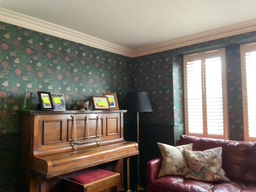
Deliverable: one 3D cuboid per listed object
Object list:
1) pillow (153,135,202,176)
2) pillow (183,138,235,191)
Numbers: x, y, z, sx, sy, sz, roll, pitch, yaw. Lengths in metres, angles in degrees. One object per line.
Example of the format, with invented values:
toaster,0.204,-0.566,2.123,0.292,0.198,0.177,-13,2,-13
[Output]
pillow,0.600,0.740,2.640,0.470,0.390,0.230,8,22,-8
pillow,0.920,0.780,2.430,0.410,0.410,0.210,24,30,18
